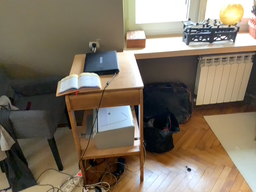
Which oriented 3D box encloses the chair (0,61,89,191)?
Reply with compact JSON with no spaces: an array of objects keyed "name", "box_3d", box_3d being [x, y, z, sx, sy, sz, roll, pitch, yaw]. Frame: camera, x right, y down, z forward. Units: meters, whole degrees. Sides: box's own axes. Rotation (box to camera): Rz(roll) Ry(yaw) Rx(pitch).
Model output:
[{"name":"chair","box_3d":[-0.820,0.220,1.810,0.850,0.750,0.730,-5,32,-6]}]
